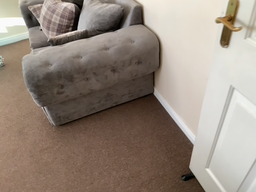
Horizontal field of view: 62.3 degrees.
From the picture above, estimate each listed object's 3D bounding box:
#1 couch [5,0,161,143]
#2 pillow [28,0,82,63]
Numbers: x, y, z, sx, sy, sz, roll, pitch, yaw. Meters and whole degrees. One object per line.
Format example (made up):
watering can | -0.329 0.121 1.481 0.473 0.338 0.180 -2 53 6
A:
couch | -0.520 -0.580 2.070 0.930 0.740 1.710 -19 44 -14
pillow | -0.660 -0.660 1.890 0.210 0.430 0.550 -29 67 -19
